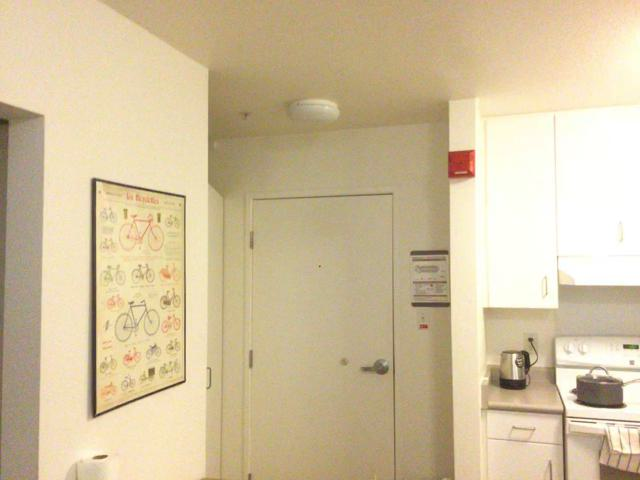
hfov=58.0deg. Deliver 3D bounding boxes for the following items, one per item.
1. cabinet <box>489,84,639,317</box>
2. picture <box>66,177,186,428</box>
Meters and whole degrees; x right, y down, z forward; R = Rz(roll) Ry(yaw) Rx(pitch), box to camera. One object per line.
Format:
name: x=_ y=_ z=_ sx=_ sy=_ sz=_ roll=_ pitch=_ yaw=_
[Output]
cabinet: x=1.710 y=-0.180 z=2.710 sx=1.710 sy=1.050 sz=0.400 roll=-1 pitch=-2 yaw=22
picture: x=-0.600 y=0.180 z=1.860 sx=0.040 sy=0.700 sz=0.510 roll=-1 pitch=-2 yaw=22
